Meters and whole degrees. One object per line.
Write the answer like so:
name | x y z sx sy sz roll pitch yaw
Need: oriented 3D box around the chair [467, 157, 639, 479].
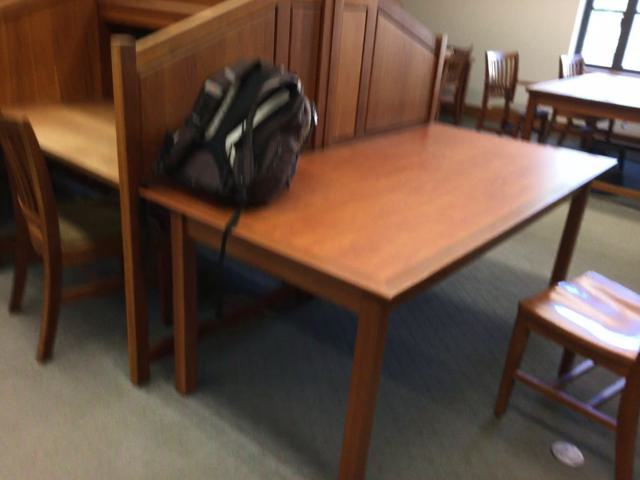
chair | 0.960 0.250 1.870 0.580 0.860 0.590 -14 28 -36

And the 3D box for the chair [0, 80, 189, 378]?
chair | -0.950 -0.100 2.230 0.640 0.900 0.570 21 28 36
